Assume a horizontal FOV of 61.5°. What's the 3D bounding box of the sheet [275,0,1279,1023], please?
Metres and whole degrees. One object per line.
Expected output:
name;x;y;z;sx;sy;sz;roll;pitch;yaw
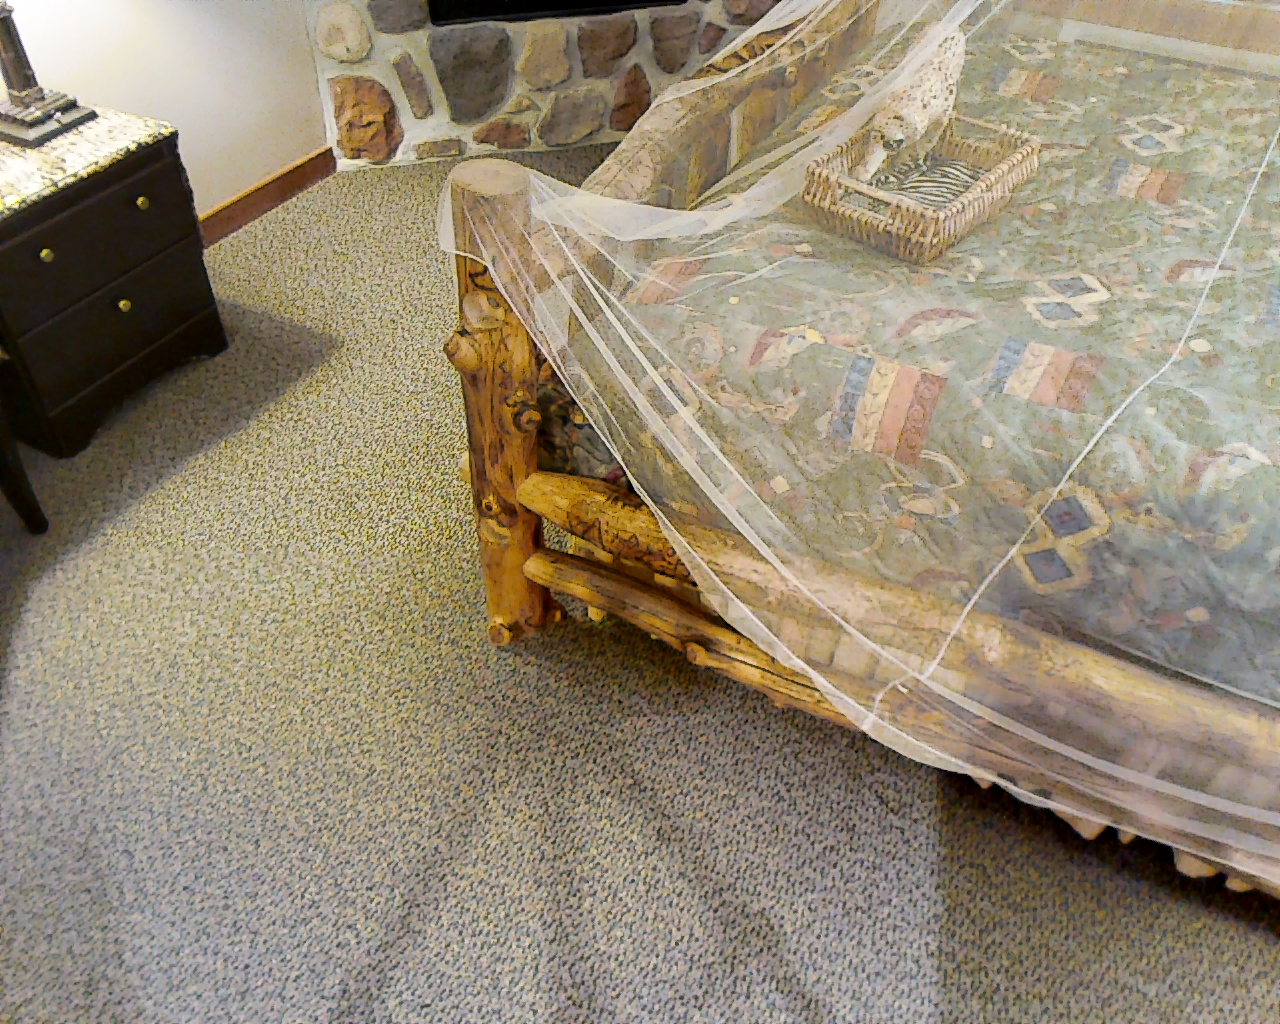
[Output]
sheet;1.140;-0.800;1.540;2.510;2.320;2.020;22;47;19
